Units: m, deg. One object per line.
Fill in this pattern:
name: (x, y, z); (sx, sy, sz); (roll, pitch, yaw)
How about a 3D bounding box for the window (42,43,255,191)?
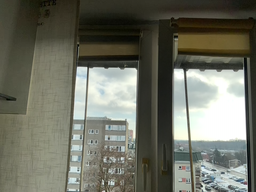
window: (0.110, 0.390, 0.980); (0.960, 1.240, 0.190); (0, -12, 7)
